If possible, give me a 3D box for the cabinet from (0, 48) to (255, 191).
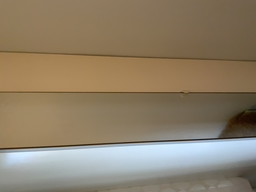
[{"bbox_3d":[0.140,0.190,1.130,0.620,2.370,0.510,103,162,-44],"label":"cabinet"}]
